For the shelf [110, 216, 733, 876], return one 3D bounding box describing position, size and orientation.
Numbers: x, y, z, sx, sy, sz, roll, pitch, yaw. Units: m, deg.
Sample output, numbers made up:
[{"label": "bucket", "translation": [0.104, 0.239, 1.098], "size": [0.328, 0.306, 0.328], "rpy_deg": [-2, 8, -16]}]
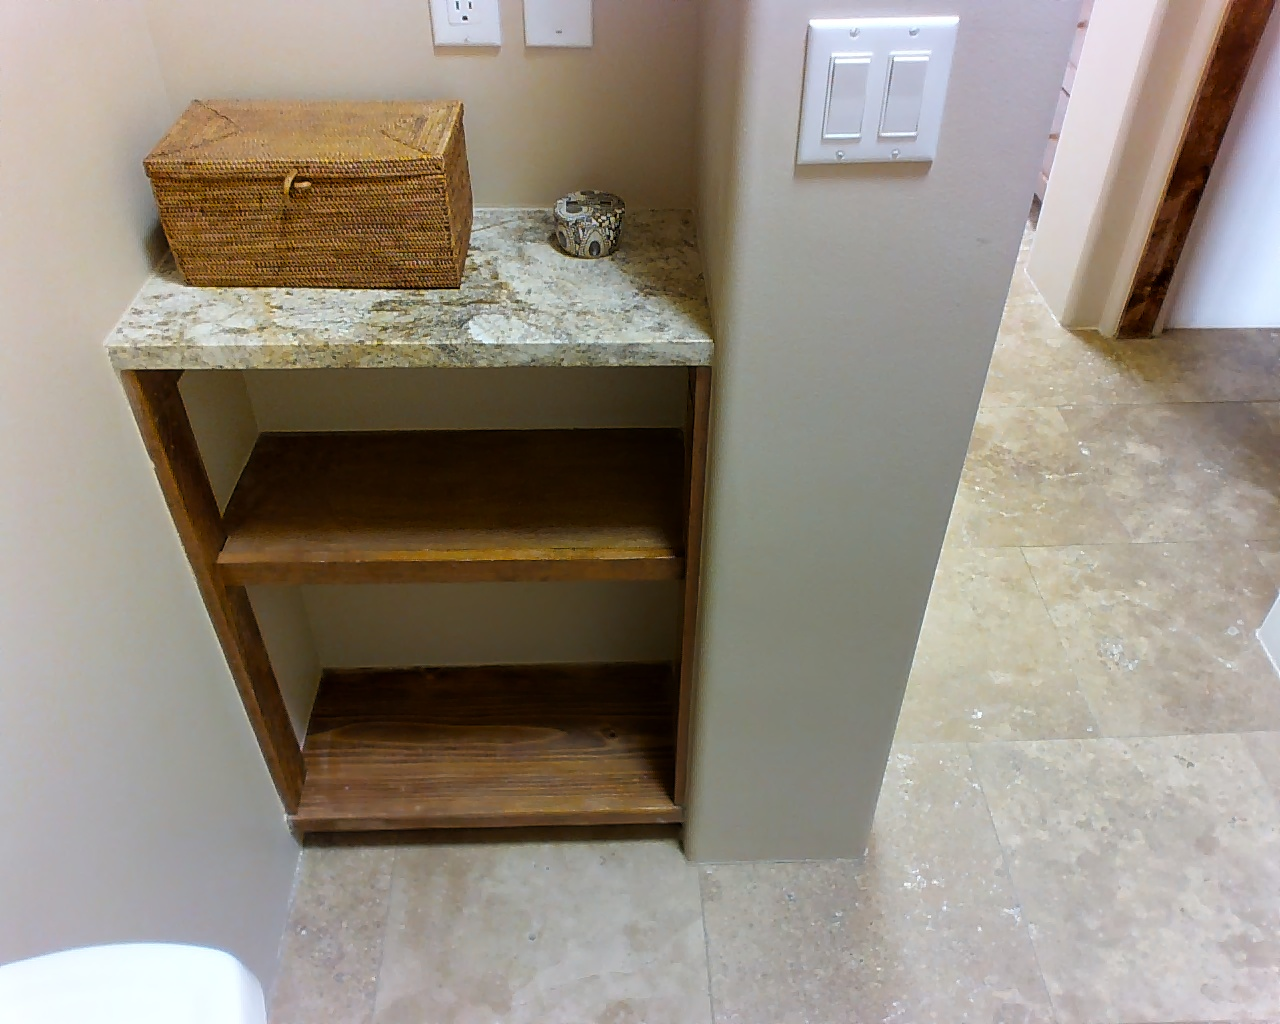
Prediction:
[{"label": "shelf", "translation": [-0.210, 0.100, 1.410], "size": [0.580, 0.900, 0.300], "rpy_deg": [-1, 41, -1]}]
